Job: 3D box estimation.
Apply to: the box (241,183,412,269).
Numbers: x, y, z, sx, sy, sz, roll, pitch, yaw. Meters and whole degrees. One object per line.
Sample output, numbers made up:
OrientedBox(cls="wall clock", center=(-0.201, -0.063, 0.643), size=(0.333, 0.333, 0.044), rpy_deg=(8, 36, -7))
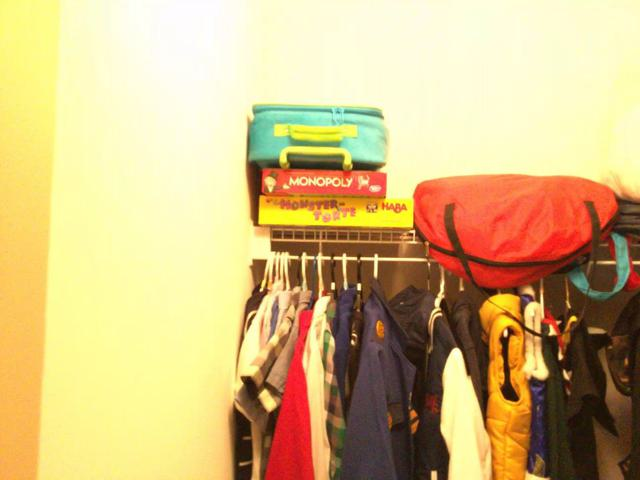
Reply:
OrientedBox(cls="box", center=(0.020, -0.020, 1.370), size=(0.340, 0.140, 0.400), rpy_deg=(3, -6, 2))
